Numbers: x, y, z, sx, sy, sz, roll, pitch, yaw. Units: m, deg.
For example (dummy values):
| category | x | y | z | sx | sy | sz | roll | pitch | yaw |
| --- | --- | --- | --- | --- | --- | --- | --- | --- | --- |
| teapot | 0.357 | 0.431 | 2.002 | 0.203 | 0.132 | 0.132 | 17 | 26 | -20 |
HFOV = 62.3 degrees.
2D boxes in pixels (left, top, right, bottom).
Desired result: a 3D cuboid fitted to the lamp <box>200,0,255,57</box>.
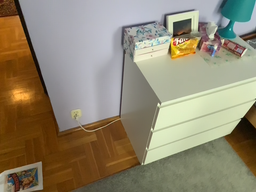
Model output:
| category | x | y | z | sx | sy | sz | roll | pitch | yaw |
| --- | --- | --- | --- | --- | --- | --- | --- | --- | --- |
| lamp | 0.690 | -0.500 | 1.430 | 0.200 | 0.390 | 0.200 | -17 | 52 | -19 |
